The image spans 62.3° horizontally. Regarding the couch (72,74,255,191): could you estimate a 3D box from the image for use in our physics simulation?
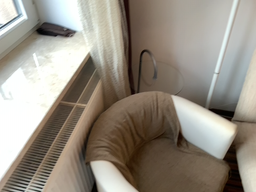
[{"bbox_3d":[0.180,0.400,1.240,0.680,0.630,0.600,33,52,30],"label":"couch"}]
